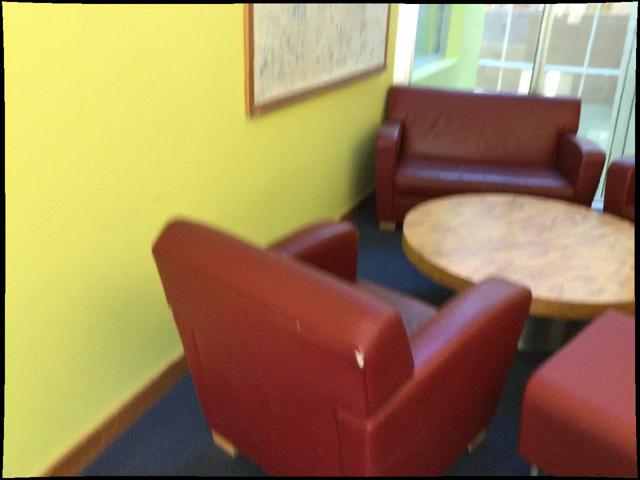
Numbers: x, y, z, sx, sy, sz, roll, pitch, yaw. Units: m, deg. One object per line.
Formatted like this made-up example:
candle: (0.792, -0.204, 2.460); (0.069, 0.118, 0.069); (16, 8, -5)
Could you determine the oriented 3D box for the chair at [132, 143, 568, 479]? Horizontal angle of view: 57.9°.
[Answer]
chair: (0.070, 0.290, 1.820); (0.860, 0.821, 0.890); (27, 35, 35)
